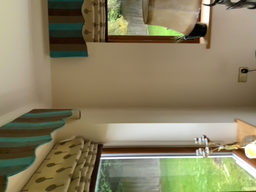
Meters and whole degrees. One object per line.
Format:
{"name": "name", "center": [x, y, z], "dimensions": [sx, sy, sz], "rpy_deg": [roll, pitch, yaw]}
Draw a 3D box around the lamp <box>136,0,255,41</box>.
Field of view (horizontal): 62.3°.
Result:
{"name": "lamp", "center": [0.460, -0.560, 1.150], "dimensions": [0.420, 0.790, 0.460], "rpy_deg": [-115, 25, -81]}
